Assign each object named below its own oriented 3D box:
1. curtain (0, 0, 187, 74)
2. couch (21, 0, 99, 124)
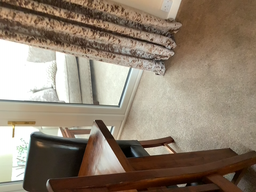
[{"bbox_3d":[-0.580,-0.470,1.190,0.180,2.250,0.400,43,122,51],"label":"curtain"},{"bbox_3d":[-1.080,-0.460,3.270,1.100,0.830,1.680,-19,70,55],"label":"couch"}]
